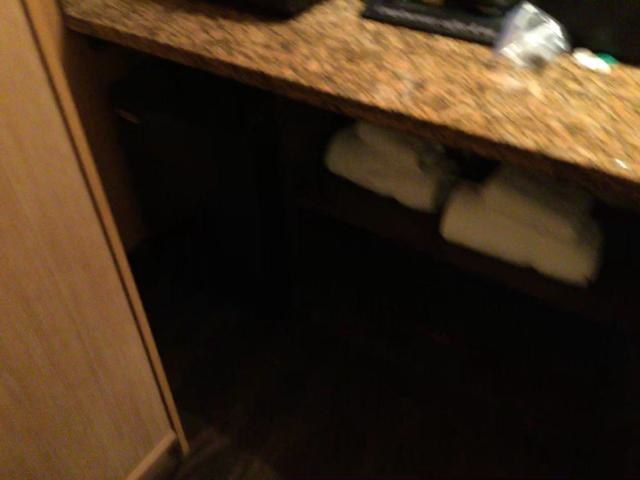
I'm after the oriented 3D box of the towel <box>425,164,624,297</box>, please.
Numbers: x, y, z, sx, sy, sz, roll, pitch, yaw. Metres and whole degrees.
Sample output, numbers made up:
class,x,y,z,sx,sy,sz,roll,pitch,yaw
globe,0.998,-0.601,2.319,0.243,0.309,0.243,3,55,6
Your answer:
class,x,y,z,sx,sy,sz,roll,pitch,yaw
towel,0.410,-0.030,1.180,0.340,0.110,0.160,20,39,24

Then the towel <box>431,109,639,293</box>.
class,x,y,z,sx,sy,sz,roll,pitch,yaw
towel,0.450,-0.100,1.200,0.320,0.180,0.310,20,39,24

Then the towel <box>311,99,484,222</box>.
class,x,y,z,sx,sy,sz,roll,pitch,yaw
towel,0.180,-0.200,1.370,0.330,0.130,0.230,20,39,24

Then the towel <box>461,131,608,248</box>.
class,x,y,z,sx,sy,sz,roll,pitch,yaw
towel,0.430,-0.110,1.160,0.220,0.100,0.200,20,39,24
